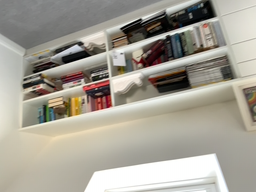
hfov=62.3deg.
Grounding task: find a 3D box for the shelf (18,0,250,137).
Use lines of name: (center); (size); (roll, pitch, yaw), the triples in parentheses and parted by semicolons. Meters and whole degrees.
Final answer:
shelf: (-0.080, -0.230, 1.950); (1.880, 0.840, 0.440); (-14, 160, 17)
